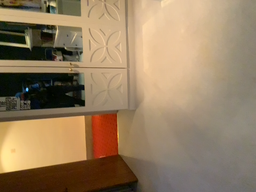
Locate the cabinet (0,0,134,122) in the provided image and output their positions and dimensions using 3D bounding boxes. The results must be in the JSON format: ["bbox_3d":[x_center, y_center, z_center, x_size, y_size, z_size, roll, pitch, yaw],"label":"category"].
[{"bbox_3d":[-1.180,-0.620,2.740,0.760,2.400,1.740,-173,81,-66],"label":"cabinet"}]
